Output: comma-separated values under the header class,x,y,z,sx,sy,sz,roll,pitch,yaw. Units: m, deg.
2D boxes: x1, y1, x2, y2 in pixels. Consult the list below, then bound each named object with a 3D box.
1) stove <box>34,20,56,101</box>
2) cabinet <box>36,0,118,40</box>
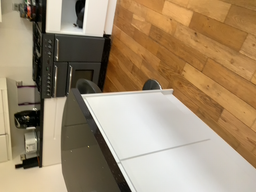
class,x,y,z,sx,sy,sz,roll,pitch,yaw
stove,-1.170,-0.500,2.940,0.680,0.140,0.890,51,135,45
cabinet,-0.590,-1.530,2.580,0.590,0.890,1.470,51,135,45
